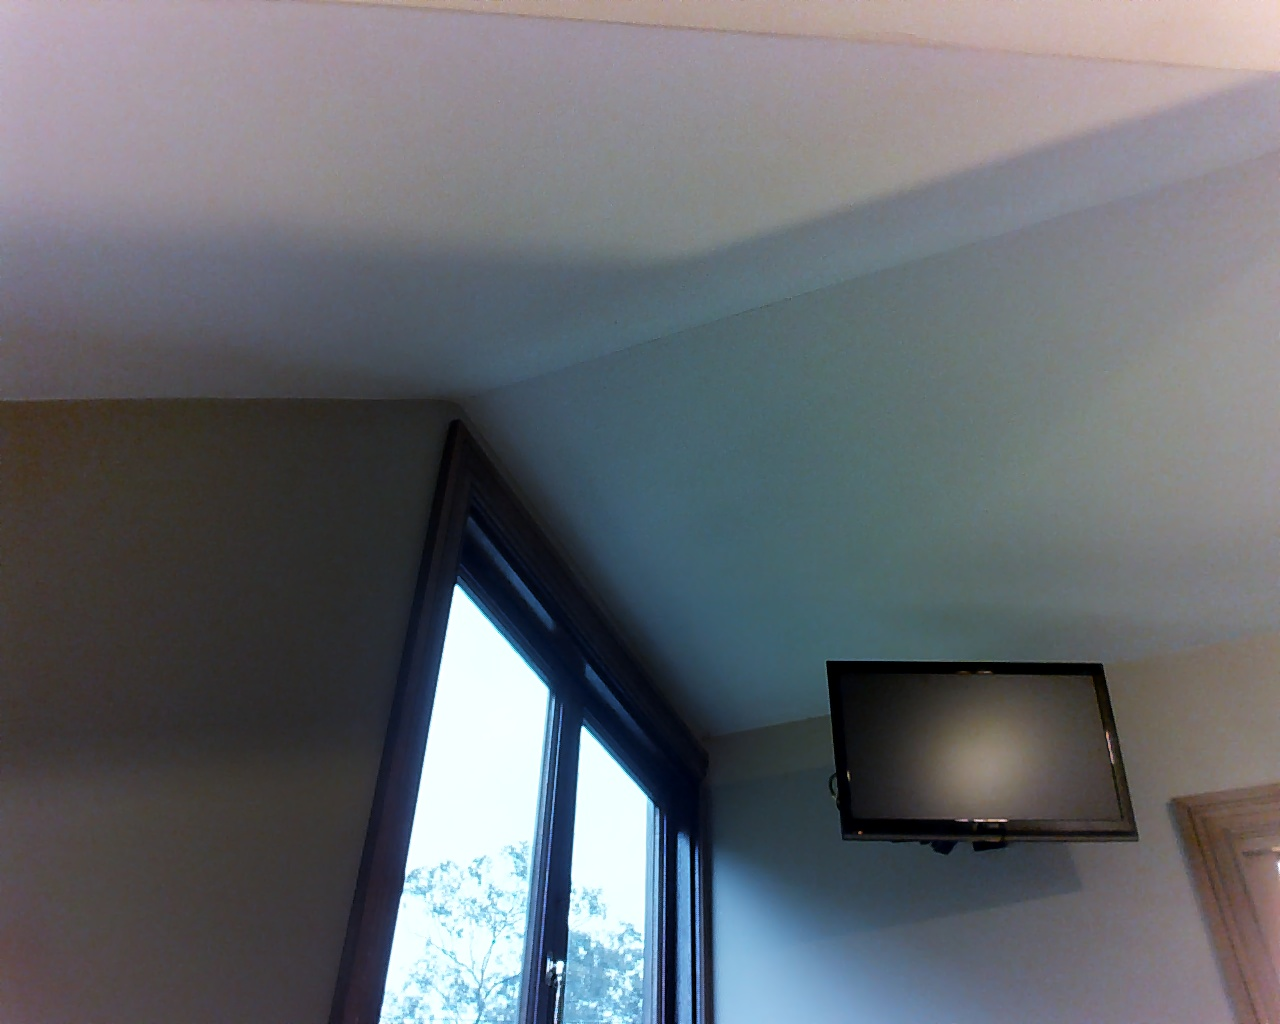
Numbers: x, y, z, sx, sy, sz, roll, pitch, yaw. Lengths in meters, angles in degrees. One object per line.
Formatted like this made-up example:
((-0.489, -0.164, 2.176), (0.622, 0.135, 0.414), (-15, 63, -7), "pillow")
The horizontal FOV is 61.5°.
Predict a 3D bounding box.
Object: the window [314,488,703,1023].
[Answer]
((-0.130, 0.760, 1.950), (0.070, 1.140, 1.190), (-15, -44, 19), "window")
